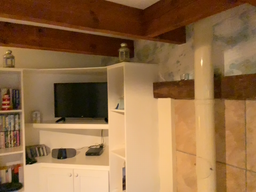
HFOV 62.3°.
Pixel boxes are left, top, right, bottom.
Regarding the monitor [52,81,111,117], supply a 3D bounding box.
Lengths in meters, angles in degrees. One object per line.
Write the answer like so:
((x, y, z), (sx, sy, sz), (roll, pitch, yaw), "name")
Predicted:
((-0.580, 0.040, 2.640), (0.720, 0.430, 0.060), (-1, 1, 8), "monitor")
